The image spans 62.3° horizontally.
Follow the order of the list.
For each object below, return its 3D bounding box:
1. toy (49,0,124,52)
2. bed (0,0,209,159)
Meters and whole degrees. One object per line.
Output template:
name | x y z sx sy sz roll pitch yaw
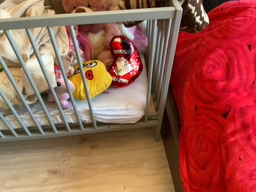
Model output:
toy | -0.210 -0.470 1.170 0.340 0.330 0.260 -5 49 -4
bed | -0.460 -0.220 1.120 1.330 0.870 0.720 -4 49 -3
